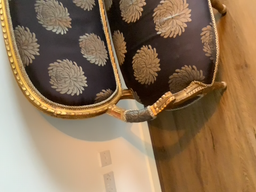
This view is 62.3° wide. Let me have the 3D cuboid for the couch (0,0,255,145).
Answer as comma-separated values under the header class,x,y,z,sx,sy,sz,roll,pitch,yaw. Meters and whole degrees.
class,x,y,z,sx,sy,sz,roll,pitch,yaw
couch,-0.080,-0.640,1.180,0.850,1.010,1.570,-16,81,42
